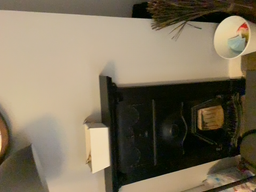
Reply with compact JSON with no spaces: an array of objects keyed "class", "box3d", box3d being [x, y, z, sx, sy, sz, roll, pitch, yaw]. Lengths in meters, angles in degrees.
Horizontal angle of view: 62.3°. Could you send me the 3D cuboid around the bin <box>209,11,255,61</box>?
[{"class":"bin","box3d":[0.770,-0.390,1.460,0.280,0.270,0.290,-162,69,-65]}]
